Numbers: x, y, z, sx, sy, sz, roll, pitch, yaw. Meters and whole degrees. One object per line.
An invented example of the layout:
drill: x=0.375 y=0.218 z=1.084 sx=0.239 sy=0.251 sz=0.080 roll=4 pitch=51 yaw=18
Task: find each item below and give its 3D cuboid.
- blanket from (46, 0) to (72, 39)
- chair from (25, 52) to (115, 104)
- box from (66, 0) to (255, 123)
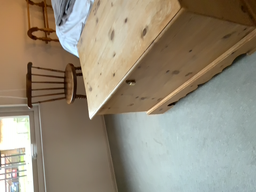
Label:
blanket: x=-0.450 y=-0.730 z=1.350 sx=0.470 sy=0.070 sz=0.530 roll=-44 pitch=55 yaw=54
chair: x=-0.630 y=-0.160 z=2.280 sx=0.540 sy=0.800 sz=0.450 roll=-6 pitch=87 yaw=60
box: x=0.120 y=-0.340 z=1.210 sx=0.970 sy=0.640 sz=0.650 roll=-43 pitch=56 yaw=52
